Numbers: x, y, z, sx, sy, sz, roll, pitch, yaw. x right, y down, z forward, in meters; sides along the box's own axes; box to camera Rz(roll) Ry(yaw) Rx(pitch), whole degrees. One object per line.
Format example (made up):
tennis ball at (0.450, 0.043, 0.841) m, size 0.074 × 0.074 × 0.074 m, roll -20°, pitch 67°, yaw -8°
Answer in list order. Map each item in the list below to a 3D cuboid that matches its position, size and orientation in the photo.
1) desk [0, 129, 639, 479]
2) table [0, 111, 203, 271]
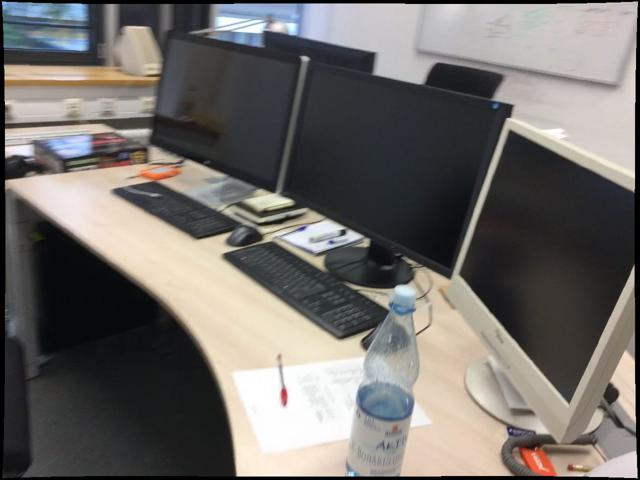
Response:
desk at (-0.160, 0.400, 1.540) m, size 2.259 × 0.801 × 1.189 m, roll 26°, pitch 29°, yaw 38°
table at (-1.069, -0.270, 2.400) m, size 0.900 × 0.310 × 0.750 m, roll 26°, pitch 29°, yaw 38°
